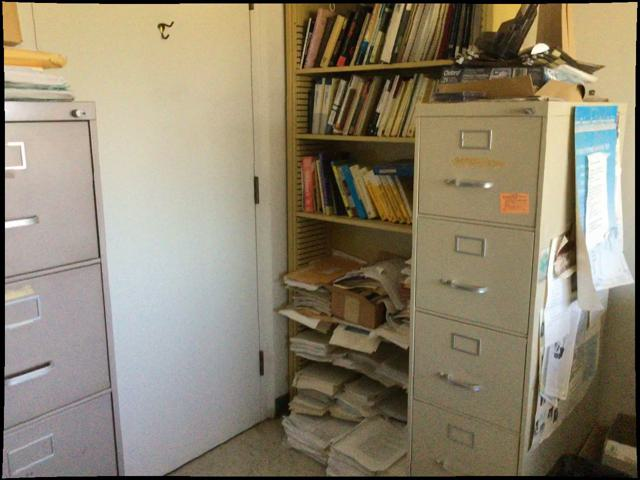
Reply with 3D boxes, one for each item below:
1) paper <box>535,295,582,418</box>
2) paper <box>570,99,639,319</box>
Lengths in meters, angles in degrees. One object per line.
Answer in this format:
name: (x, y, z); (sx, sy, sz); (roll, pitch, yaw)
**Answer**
paper: (0.718, 0.341, 1.730); (0.030, 0.291, 0.280); (9, 15, 37)
paper: (0.958, -0.120, 1.850); (0.110, 0.632, 0.470); (9, 15, 37)
